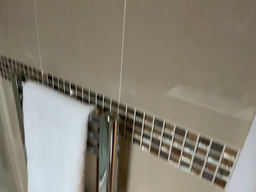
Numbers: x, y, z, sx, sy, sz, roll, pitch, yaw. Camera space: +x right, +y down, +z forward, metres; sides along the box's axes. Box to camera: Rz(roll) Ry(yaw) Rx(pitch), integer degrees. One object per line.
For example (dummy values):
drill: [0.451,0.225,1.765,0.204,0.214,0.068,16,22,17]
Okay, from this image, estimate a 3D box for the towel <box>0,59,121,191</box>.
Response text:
towel: [-0.240,0.200,0.600,0.360,0.510,0.100,22,26,23]
